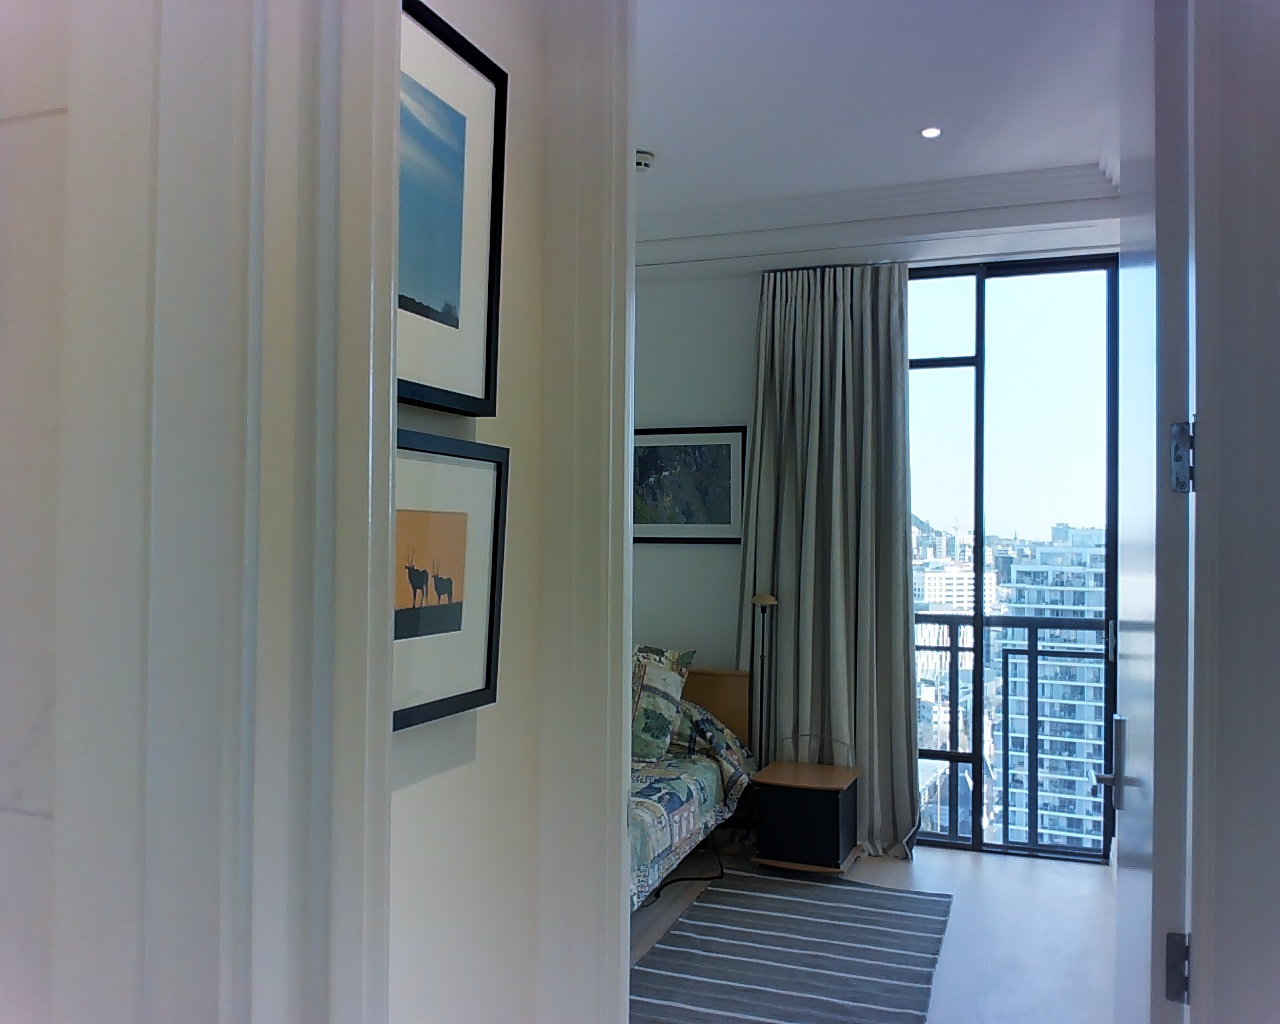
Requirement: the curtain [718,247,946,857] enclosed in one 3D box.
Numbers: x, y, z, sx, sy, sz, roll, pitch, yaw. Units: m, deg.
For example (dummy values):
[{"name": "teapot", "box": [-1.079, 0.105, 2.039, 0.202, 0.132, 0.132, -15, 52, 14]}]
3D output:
[{"name": "curtain", "box": [0.860, 0.150, 4.820, 0.780, 2.581, 0.310, 4, 1, 21]}]
